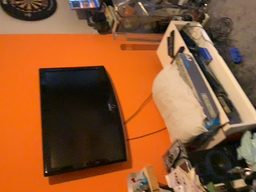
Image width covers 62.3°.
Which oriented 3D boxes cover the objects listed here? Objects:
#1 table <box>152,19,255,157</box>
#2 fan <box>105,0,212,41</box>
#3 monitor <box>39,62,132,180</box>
[{"bbox_3d":[0.660,-0.120,1.930,0.490,0.440,1.140,110,149,-54],"label":"table"},{"bbox_3d":[0.280,-0.880,2.190,0.390,0.930,0.460,111,149,-54],"label":"fan"},{"bbox_3d":[-0.380,0.120,1.720,0.060,0.590,0.950,110,148,-54],"label":"monitor"}]
